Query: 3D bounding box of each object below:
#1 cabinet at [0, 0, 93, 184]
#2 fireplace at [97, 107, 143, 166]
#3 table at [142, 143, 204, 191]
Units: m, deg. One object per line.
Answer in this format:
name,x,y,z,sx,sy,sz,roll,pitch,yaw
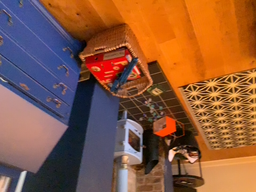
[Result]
cabinet,-0.710,-0.120,1.240,0.510,1.000,0.820,-15,142,23
fireplace,-0.070,0.480,2.480,0.350,0.510,0.420,-15,142,23
table,0.760,1.240,3.590,0.780,0.530,0.790,-16,142,24
